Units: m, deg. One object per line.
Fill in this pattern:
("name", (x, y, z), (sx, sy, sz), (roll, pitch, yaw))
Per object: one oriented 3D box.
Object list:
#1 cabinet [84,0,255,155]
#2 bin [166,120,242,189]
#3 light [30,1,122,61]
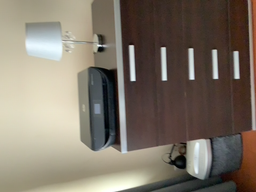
("cabinet", (0.290, -0.210, 1.530), (0.640, 1.040, 0.950), (-177, 85, -66))
("bin", (0.590, 0.430, 1.720), (0.450, 0.370, 0.380), (-173, 81, -66))
("light", (-0.300, -0.350, 1.240), (0.210, 0.480, 0.260), (-173, 81, -66))
